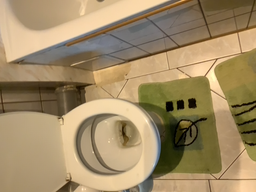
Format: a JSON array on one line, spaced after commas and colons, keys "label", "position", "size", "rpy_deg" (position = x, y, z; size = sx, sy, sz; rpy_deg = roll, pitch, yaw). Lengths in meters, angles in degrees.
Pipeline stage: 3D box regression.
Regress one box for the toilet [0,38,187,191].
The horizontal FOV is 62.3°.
[{"label": "toilet", "position": [-0.240, 0.190, 0.820], "size": [0.700, 0.920, 0.460], "rpy_deg": [-10, 88, 25]}]
